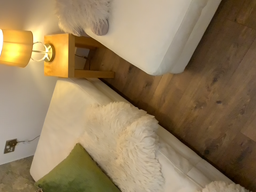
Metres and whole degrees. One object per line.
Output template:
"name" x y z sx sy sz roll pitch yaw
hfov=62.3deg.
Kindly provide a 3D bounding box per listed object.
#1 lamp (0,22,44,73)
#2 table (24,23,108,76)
"lamp" -0.720 -0.290 1.280 0.180 0.300 0.240 39 115 28
"table" -0.440 -0.310 1.540 0.360 0.450 0.300 8 98 36
